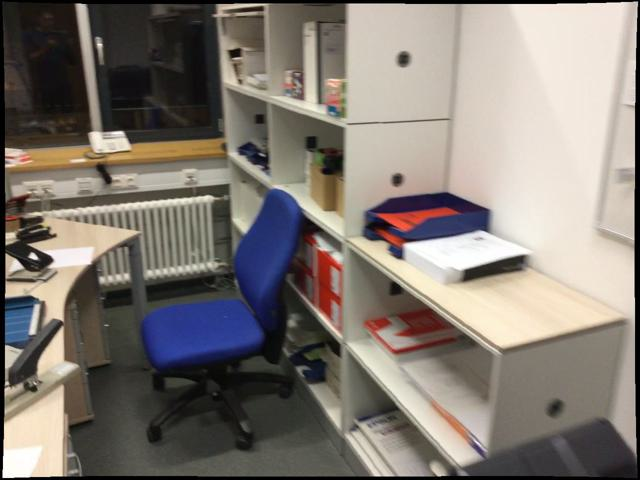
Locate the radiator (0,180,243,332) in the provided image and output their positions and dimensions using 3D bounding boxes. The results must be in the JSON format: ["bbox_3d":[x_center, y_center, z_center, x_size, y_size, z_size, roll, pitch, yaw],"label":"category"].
[{"bbox_3d":[-1.099,0.060,3.340,1.259,0.651,0.270,-8,23,-24],"label":"radiator"}]

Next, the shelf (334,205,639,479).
[{"bbox_3d":[0.440,0.470,1.850,0.440,0.931,0.810,-8,23,-24],"label":"shelf"}]

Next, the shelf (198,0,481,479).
[{"bbox_3d":[-0.100,-0.240,2.680,0.400,1.742,1.780,-8,23,-24],"label":"shelf"}]

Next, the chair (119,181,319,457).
[{"bbox_3d":[-0.400,0.280,2.340,0.649,0.901,0.440,-8,23,-24],"label":"chair"}]
